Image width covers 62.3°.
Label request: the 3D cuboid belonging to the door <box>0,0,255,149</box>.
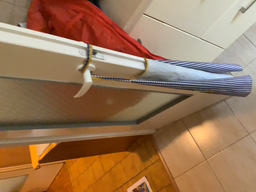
[{"bbox_3d":[-0.240,0.050,0.940,0.940,2.140,0.080,-34,62,41],"label":"door"}]
